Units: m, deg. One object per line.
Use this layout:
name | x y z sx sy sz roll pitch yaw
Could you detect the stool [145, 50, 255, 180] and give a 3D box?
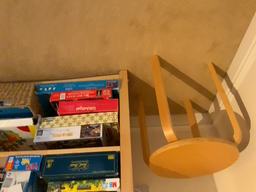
stool | 0.270 0.090 0.980 0.340 0.450 0.370 -4 141 1
